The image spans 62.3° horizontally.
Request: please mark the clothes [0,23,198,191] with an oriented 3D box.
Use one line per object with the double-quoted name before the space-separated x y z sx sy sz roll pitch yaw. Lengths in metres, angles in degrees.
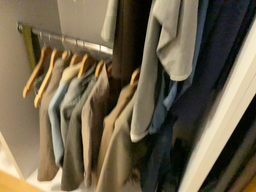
"clothes" -0.160 0.180 1.250 0.780 0.850 0.640 20 42 15
